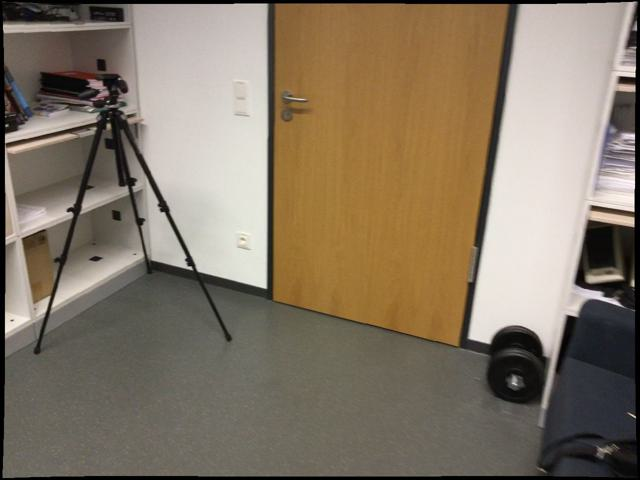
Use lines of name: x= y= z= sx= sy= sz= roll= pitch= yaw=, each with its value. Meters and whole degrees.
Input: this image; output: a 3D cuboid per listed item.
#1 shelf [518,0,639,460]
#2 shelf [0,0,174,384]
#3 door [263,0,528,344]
shelf: x=1.249 y=-0.280 z=1.770 sx=0.829 sy=2.082 sz=0.510 roll=12 pitch=26 yaw=20
shelf: x=-1.379 y=-0.611 z=2.170 sx=0.560 sy=2.252 sz=1.700 roll=12 pitch=26 yaw=20
door: x=0.250 y=-0.601 z=2.380 sx=1.009 sy=2.052 sz=0.170 roll=13 pitch=28 yaw=23
